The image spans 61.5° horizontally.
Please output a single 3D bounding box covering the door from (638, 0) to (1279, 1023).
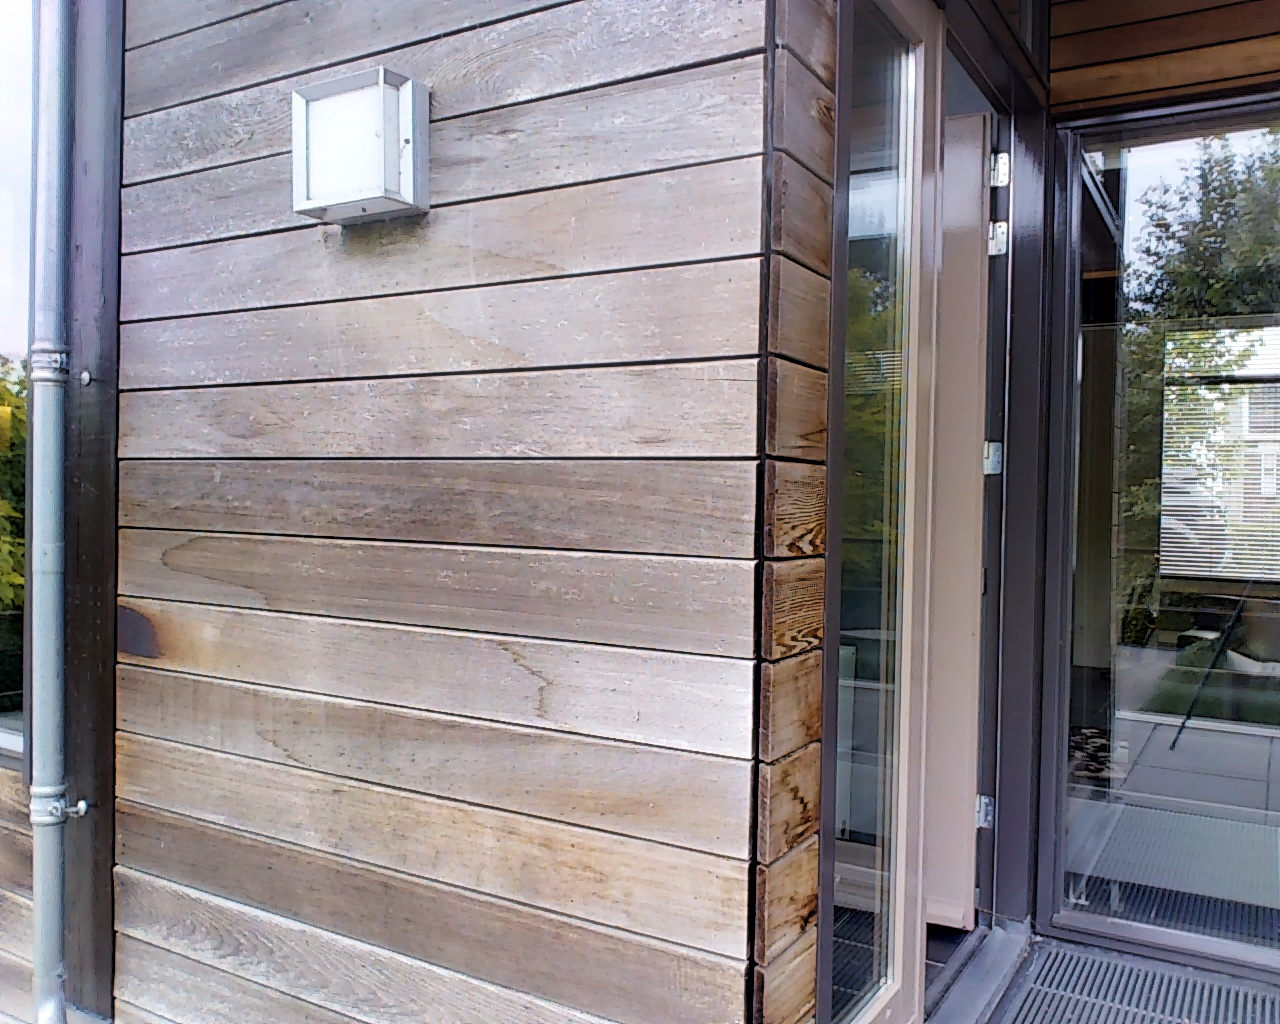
[{"bbox_3d":[0.630,-0.030,2.640,0.970,2.530,1.840,1,1,8],"label":"door"}]

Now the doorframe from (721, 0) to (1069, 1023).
[{"bbox_3d":[0.690,-0.330,2.420,0.160,3.211,1.840,2,2,31],"label":"doorframe"}]
